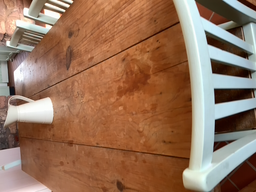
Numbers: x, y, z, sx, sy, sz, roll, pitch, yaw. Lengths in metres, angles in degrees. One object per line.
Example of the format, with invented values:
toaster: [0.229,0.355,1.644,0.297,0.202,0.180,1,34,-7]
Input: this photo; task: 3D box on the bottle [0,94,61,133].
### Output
bottle: [-0.510,0.090,1.100,0.210,0.240,0.160,-13,83,51]
